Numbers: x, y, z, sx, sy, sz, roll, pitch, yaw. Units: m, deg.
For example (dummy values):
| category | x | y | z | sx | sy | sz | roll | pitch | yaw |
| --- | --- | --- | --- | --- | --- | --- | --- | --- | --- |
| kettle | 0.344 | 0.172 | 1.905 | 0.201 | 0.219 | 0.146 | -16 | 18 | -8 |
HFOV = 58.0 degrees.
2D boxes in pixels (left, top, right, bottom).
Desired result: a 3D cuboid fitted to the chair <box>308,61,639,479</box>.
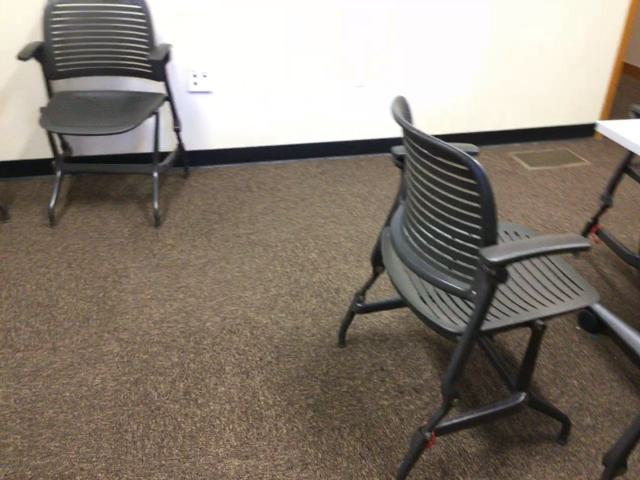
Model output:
| category | x | y | z | sx | sy | sz | roll | pitch | yaw |
| --- | --- | --- | --- | --- | --- | --- | --- | --- | --- |
| chair | 0.370 | 0.050 | 1.520 | 0.620 | 0.850 | 0.620 | -9 | 32 | -18 |

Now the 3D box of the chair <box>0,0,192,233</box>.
| category | x | y | z | sx | sy | sz | roll | pitch | yaw |
| --- | --- | --- | --- | --- | --- | --- | --- | --- | --- |
| chair | -0.890 | -0.570 | 2.430 | 0.570 | 0.820 | 0.630 | -7 | 31 | -14 |
